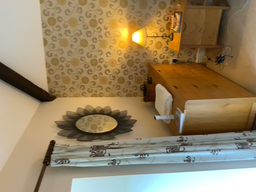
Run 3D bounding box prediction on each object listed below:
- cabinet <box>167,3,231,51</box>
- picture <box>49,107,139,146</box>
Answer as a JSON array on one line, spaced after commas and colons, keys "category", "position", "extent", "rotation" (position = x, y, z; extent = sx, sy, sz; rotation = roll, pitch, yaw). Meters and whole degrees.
[{"category": "cabinet", "position": [0.890, -0.900, 2.780], "extent": [0.460, 0.580, 0.530], "rotation": [-115, 26, -68]}, {"category": "picture", "position": [-0.370, 0.310, 2.390], "extent": [0.750, 0.860, 0.020], "rotation": [-111, 22, -65]}]
